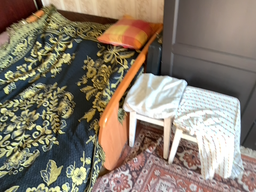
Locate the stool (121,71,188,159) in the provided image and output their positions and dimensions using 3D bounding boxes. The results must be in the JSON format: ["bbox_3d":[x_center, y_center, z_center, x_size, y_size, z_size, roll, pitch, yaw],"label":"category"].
[{"bbox_3d":[0.180,0.130,1.420,0.310,0.440,0.300,17,48,21],"label":"stool"}]
